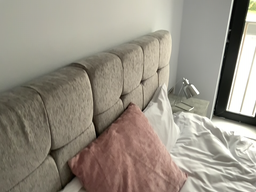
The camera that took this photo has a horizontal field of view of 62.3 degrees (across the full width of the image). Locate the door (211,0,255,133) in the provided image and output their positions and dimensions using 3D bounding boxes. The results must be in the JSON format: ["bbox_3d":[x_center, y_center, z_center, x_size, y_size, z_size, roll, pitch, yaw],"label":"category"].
[{"bbox_3d":[1.420,-0.530,1.940,0.940,2.070,0.070,14,31,27],"label":"door"}]
